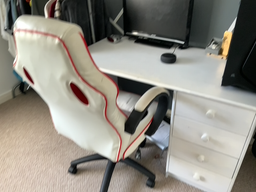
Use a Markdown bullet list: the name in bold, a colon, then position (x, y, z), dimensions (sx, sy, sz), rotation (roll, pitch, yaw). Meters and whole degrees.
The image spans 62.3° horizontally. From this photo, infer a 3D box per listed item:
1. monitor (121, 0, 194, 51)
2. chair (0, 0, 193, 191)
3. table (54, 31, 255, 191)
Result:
- **monitor**: position (0.180, -0.540, 1.540), dimensions (0.540, 0.330, 0.030), rotation (19, 37, 28)
- **chair**: position (-0.140, 0.020, 1.240), dimensions (0.650, 1.180, 0.860), rotation (17, 37, 25)
- **table**: position (0.210, 0.050, 1.590), dimensions (1.280, 0.720, 0.650), rotation (19, 38, 27)
